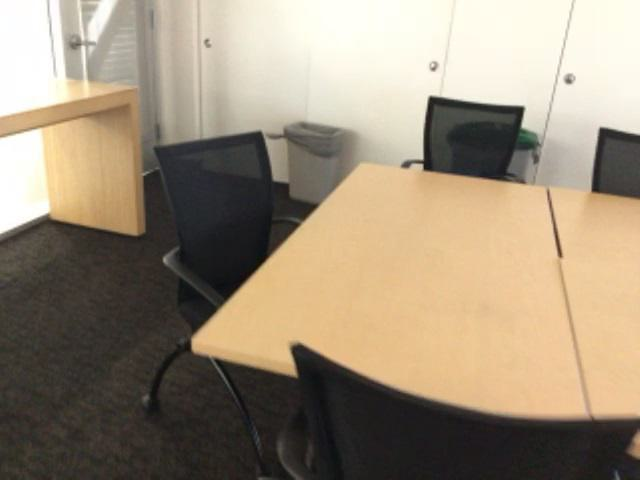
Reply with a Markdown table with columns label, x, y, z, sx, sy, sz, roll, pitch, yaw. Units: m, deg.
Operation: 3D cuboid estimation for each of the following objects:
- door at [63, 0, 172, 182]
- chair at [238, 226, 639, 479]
| label | x | y | z | sx | sy | sz | roll | pitch | yaw |
| --- | --- | --- | --- | --- | --- | --- | --- | --- | --- |
| door | -1.270 | -1.330 | 3.730 | 0.210 | 1.780 | 0.850 | 9 | 17 | 14 |
| chair | 0.230 | 0.470 | 1.130 | 0.550 | 0.780 | 0.700 | 9 | 17 | 14 |
